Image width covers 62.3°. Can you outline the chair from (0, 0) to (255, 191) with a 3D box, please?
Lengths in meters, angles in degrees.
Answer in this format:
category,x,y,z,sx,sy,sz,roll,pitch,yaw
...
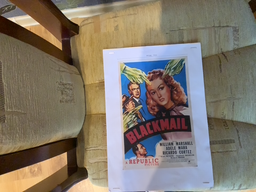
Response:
category,x,y,z,sx,sy,sz,roll,pitch,yaw
chair,0.070,-0.030,0.430,0.590,0.960,0.470,-5,84,-1
